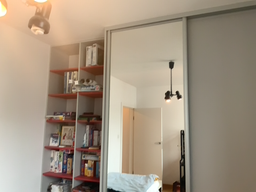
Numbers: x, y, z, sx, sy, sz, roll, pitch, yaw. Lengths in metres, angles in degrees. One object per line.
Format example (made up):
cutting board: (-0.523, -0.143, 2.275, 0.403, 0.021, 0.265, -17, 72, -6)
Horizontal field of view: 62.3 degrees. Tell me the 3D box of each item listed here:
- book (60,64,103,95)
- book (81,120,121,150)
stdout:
book: (-0.630, -0.210, 2.930, 0.360, 0.310, 0.460, -2, -8, 23)
book: (-0.360, 0.510, 2.850, 0.410, 0.350, 0.330, -2, -8, 22)
